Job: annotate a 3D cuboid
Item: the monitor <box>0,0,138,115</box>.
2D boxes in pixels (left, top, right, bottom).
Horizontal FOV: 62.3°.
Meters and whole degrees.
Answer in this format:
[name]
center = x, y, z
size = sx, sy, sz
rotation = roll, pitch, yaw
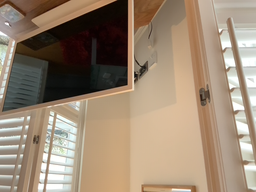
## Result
[monitor]
center = -0.300, -0.200, 0.970
size = 0.740, 0.490, 0.040
rotation = -10, 157, 26
